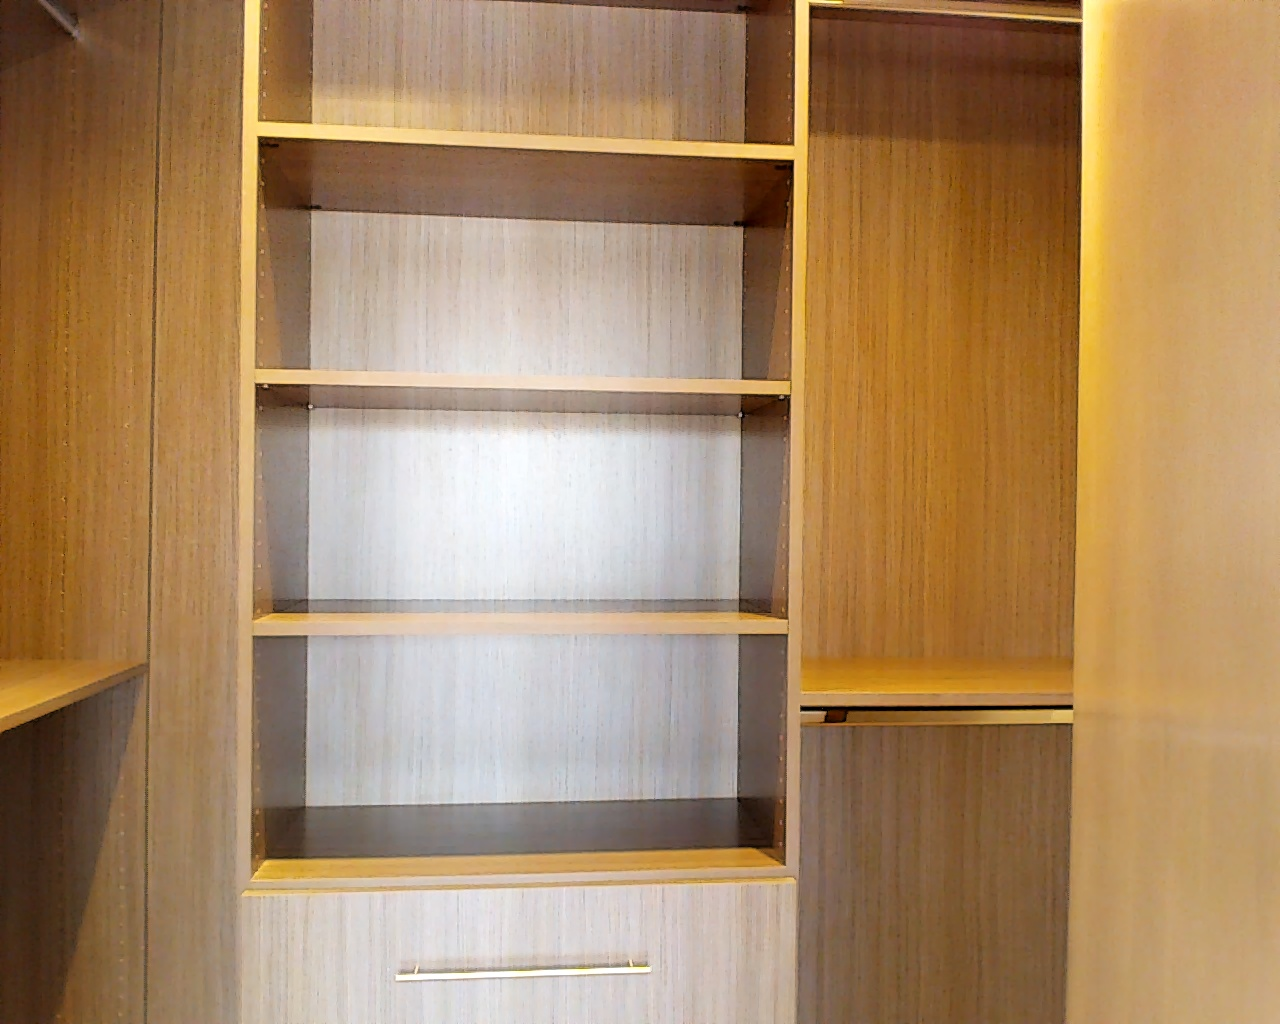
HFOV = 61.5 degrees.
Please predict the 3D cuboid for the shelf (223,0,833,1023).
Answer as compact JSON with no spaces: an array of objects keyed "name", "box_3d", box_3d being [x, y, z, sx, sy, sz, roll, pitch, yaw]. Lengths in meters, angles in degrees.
[{"name":"shelf","box_3d":[-0.170,0.270,1.740,0.840,2.571,0.450,1,0,-5]}]
